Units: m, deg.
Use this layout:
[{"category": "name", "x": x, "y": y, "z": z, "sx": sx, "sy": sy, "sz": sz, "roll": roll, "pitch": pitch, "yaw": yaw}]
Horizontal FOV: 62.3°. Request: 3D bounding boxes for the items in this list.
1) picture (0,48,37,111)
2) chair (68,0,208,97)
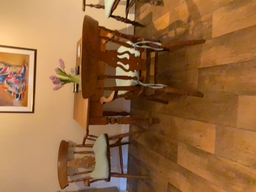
[{"category": "picture", "x": -1.340, "y": -0.180, "z": 2.330, "sx": 0.030, "sy": 0.590, "sz": 0.670, "roll": 180, "pitch": 92, "yaw": -69}, {"category": "chair", "x": 0.030, "y": -0.300, "z": 1.670, "sx": 0.660, "sy": 0.880, "sz": 0.550, "roll": -174, "pitch": 86, "yaw": -69}]
